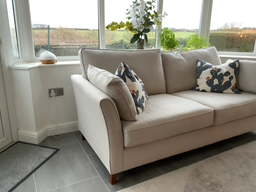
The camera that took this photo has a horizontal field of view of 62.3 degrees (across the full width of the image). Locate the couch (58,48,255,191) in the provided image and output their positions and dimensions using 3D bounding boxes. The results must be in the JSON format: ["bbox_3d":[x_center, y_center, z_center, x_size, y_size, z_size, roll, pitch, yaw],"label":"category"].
[{"bbox_3d":[0.460,0.000,2.250,2.050,0.870,1.060,-8,20,-28],"label":"couch"}]

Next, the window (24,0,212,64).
[{"bbox_3d":[0.110,-0.950,2.720,2.570,0.930,0.070,-8,19,-27],"label":"window"}]
